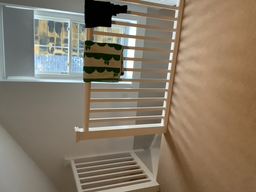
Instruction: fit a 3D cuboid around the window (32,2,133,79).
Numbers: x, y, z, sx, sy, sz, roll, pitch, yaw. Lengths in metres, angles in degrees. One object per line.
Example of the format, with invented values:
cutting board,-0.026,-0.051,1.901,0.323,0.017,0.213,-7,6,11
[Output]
window,-0.640,-0.760,3.160,0.090,1.420,0.980,-143,56,-63
